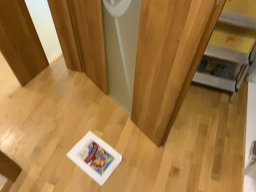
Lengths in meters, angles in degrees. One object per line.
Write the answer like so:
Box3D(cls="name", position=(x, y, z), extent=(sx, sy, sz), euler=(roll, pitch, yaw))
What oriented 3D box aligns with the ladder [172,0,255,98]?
Box3D(cls="ladder", position=(0.660, -0.590, 1.260), extent=(0.420, 1.440, 0.330), euler=(19, 56, 10))
